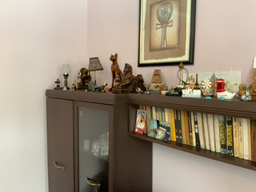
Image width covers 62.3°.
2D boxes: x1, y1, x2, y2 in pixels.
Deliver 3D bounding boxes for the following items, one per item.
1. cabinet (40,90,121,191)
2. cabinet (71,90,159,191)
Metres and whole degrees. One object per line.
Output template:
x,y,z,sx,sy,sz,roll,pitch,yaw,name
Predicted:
-0.390,0.720,1.750,0.470,1.520,0.450,-3,5,-42,cabinet
-0.090,0.500,1.440,0.430,1.050,0.400,-3,5,-42,cabinet
